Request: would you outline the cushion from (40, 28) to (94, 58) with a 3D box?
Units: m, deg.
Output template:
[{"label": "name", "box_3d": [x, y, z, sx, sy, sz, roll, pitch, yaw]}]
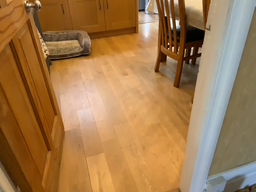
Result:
[{"label": "cushion", "box_3d": [-0.850, -0.750, 2.950, 0.650, 0.170, 0.510, -10, 36, -12]}]

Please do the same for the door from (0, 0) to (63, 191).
[{"label": "door", "box_3d": [-0.510, -0.380, 0.740, 0.090, 1.730, 0.870, -4, 35, -3]}]
